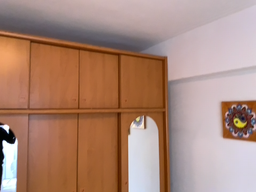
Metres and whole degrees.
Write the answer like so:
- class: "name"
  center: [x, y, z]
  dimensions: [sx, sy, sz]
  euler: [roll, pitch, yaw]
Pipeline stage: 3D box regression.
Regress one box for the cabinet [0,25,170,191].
- class: "cabinet"
  center: [-0.560, 0.710, 1.930]
  dimensions: [1.840, 2.300, 0.720]
  euler: [2, -3, -32]
